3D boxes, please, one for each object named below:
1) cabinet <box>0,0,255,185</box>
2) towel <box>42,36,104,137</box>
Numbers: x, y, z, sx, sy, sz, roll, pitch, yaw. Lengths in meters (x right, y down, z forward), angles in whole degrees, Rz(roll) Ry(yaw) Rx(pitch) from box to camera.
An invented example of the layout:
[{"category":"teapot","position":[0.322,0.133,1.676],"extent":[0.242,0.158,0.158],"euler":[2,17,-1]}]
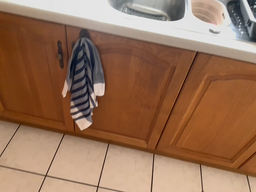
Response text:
[{"category":"cabinet","position":[0.080,-0.130,1.250],"extent":[2.260,0.890,0.640],"euler":[11,46,0]},{"category":"towel","position":[-0.230,-0.010,0.950],"extent":[0.200,0.480,0.100],"euler":[12,46,0]}]
